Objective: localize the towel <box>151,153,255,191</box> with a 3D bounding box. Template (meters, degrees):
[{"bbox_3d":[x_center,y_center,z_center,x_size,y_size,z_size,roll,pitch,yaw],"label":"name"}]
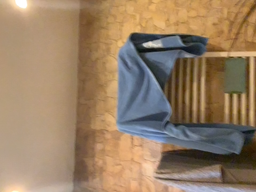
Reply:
[{"bbox_3d":[0.570,0.460,1.070,0.560,0.840,0.250,48,-135,-70],"label":"towel"}]

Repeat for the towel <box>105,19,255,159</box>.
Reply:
[{"bbox_3d":[0.300,-0.040,1.230,0.280,0.770,0.670,23,-111,-75],"label":"towel"}]
